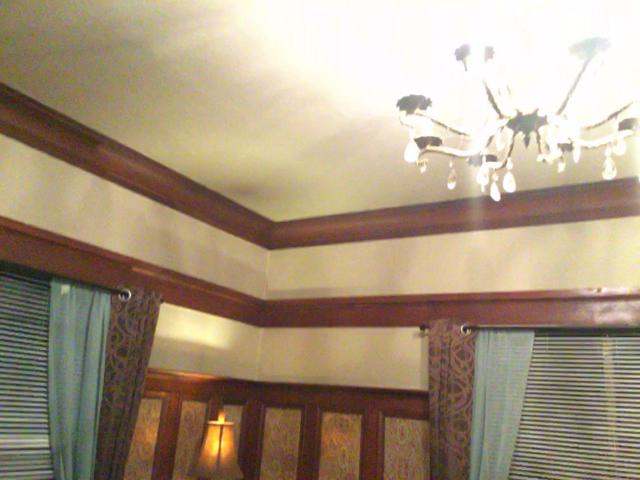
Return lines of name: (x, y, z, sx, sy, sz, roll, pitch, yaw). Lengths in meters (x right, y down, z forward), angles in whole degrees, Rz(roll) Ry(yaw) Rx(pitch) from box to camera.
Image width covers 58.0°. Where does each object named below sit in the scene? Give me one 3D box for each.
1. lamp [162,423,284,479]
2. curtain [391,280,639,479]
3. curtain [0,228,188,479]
lamp: (-0.520, 1.200, 3.180, 0.420, 0.340, 0.510, -9, -23, 26)
curtain: (1.230, 1.260, 2.510, 1.810, 2.110, 0.310, -9, -23, 26)
curtain: (-1.280, 0.600, 2.180, 0.270, 1.230, 1.860, -9, -23, 26)
